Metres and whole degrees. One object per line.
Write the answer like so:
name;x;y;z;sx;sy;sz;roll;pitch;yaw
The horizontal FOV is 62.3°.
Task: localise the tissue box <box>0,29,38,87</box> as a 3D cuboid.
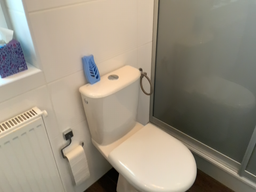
tissue box;-0.520;-0.160;0.870;0.200;0.150;0.180;26;42;35
